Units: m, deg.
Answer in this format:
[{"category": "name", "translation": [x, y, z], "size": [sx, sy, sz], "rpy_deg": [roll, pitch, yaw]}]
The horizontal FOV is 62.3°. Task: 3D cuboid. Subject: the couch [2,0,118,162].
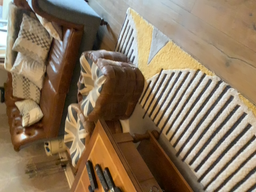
[{"category": "couch", "translation": [-0.950, -0.290, 2.480], "size": [0.970, 0.730, 1.910], "rpy_deg": [53, 131, 39]}]
